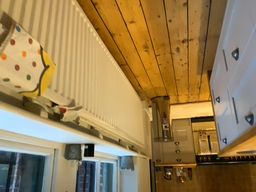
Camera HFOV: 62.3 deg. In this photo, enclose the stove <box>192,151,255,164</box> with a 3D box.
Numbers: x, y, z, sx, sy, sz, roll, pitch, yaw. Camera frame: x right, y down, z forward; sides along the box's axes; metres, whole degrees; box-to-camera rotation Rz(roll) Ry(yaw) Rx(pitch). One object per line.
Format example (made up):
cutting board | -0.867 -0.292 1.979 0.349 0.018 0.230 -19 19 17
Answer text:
stove | 1.870 1.240 4.220 1.110 0.180 0.600 -6 160 15
